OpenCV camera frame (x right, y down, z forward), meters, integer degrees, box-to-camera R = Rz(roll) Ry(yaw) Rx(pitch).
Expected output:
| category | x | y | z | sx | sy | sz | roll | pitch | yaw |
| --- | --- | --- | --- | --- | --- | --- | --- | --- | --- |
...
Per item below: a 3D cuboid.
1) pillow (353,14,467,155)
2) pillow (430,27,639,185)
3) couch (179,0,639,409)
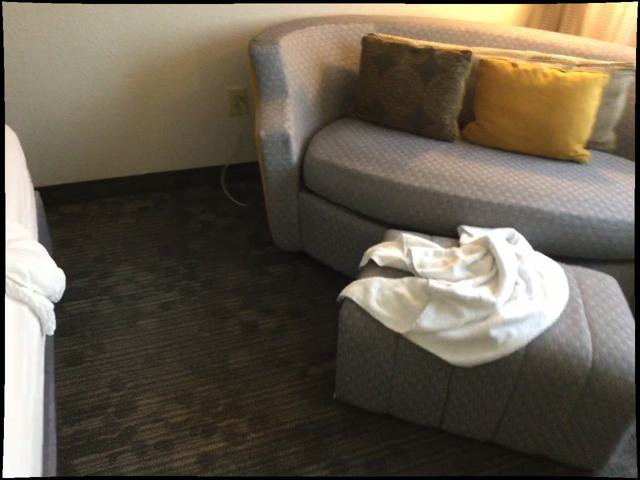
| category | x | y | z | sx | sy | sz | roll | pitch | yaw |
| --- | --- | --- | --- | --- | --- | --- | --- | --- | --- |
| pillow | 0.340 | -0.641 | 2.320 | 0.360 | 0.340 | 0.560 | 6 | 36 | 2 |
| pillow | 0.849 | -0.551 | 2.240 | 0.640 | 0.300 | 0.540 | 21 | 39 | 22 |
| couch | 0.659 | -0.340 | 2.350 | 1.828 | 0.791 | 1.600 | 11 | 37 | 9 |
